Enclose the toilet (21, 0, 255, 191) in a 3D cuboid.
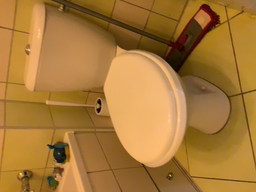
[{"bbox_3d":[0.010,-0.020,0.870,0.680,0.750,0.390,52,128,49],"label":"toilet"}]
